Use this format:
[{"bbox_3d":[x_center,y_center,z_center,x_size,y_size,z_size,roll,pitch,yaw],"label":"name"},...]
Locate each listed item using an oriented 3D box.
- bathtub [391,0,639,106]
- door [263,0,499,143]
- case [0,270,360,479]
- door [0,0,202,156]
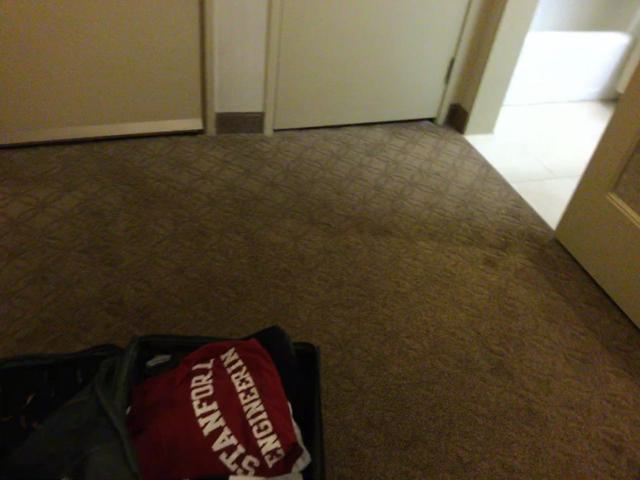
[{"bbox_3d":[1.240,-1.100,3.020,1.510,0.410,0.760,-6,41,-14],"label":"bathtub"},{"bbox_3d":[0.260,-1.040,1.990,0.870,1.500,0.100,-6,41,-14],"label":"door"},{"bbox_3d":[-0.420,0.450,1.110,0.940,0.250,0.840,-1,40,-9],"label":"case"},{"bbox_3d":[-0.830,-0.950,1.630,0.900,1.550,0.120,-6,41,-14],"label":"door"}]
